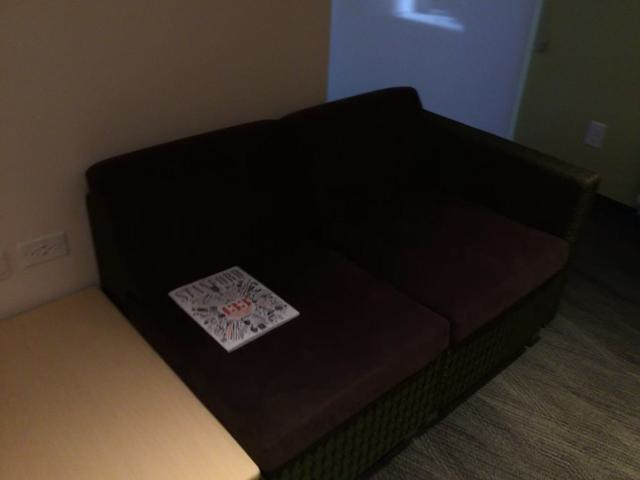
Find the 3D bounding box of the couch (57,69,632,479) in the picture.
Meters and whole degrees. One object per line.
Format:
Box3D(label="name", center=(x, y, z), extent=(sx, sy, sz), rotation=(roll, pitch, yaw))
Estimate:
Box3D(label="couch", center=(0.110, 0.070, 1.690), extent=(1.290, 0.790, 0.790), rotation=(-22, 37, -35))
